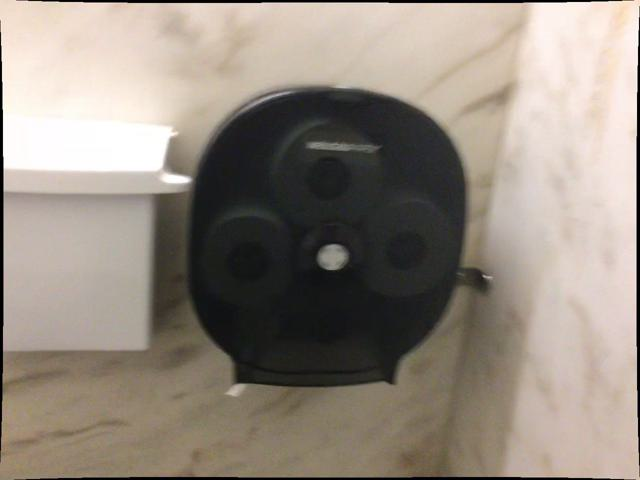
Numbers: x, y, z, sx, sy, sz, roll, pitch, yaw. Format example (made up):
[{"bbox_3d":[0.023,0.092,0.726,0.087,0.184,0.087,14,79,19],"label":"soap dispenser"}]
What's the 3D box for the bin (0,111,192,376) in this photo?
[{"bbox_3d":[-0.340,0.000,0.700,0.350,0.290,0.140,2,16,-10],"label":"bin"}]
